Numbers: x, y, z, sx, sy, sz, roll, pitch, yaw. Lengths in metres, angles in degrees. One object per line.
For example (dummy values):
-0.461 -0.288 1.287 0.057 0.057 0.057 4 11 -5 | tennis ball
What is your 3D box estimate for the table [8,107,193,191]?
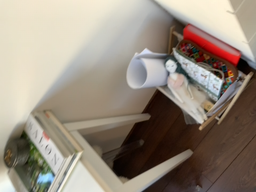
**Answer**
-0.170 0.540 1.160 0.400 0.790 0.850 40 111 26 | table
